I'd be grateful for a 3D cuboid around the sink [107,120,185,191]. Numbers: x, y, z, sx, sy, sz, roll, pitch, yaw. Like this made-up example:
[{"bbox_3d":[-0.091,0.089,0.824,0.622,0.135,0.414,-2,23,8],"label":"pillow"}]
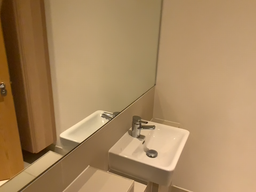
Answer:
[{"bbox_3d":[0.130,0.330,1.280,0.330,0.140,0.450,11,21,21],"label":"sink"}]
